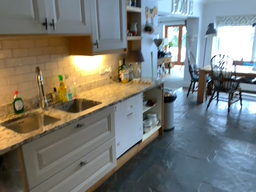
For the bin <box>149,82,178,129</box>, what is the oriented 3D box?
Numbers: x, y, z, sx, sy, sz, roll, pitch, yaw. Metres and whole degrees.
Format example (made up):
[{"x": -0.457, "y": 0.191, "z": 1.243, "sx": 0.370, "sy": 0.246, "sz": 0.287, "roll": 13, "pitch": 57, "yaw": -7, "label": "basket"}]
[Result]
[{"x": 0.600, "y": 0.140, "z": 3.580, "sx": 0.330, "sy": 0.670, "sz": 0.410, "roll": 9, "pitch": 19, "yaw": 30, "label": "bin"}]

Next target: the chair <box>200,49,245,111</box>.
[{"x": 1.960, "y": -0.360, "z": 4.410, "sx": 0.600, "sy": 1.140, "sz": 0.580, "roll": 13, "pitch": 22, "yaw": 39, "label": "chair"}]

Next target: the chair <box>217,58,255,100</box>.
[{"x": 3.030, "y": -0.380, "z": 4.880, "sx": 1.630, "sy": 0.840, "sz": 0.620, "roll": 13, "pitch": 21, "yaw": 41, "label": "chair"}]
